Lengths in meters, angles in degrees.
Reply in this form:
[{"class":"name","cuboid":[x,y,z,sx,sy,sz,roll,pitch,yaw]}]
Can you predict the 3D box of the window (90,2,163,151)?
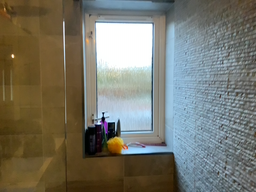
[{"class":"window","cuboid":[-0.010,-0.130,1.570,0.520,1.070,0.050,0,4,-3]}]
